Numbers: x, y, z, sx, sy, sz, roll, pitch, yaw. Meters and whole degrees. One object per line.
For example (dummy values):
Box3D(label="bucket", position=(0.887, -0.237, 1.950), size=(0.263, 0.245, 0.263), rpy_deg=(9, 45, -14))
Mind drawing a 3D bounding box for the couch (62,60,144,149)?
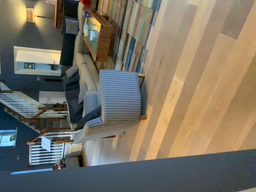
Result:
Box3D(label="couch", position=(-0.470, 0.210, 3.180), size=(1.220, 0.820, 0.930), rpy_deg=(138, 129, -58))

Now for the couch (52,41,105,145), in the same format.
Box3D(label="couch", position=(-1.480, -0.330, 5.570), size=(3.320, 0.760, 1.110), rpy_deg=(-123, 41, -52))

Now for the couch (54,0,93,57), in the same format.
Box3D(label="couch", position=(-1.480, -2.370, 5.680), size=(1.130, 0.750, 2.280), rpy_deg=(-123, 41, -51))
